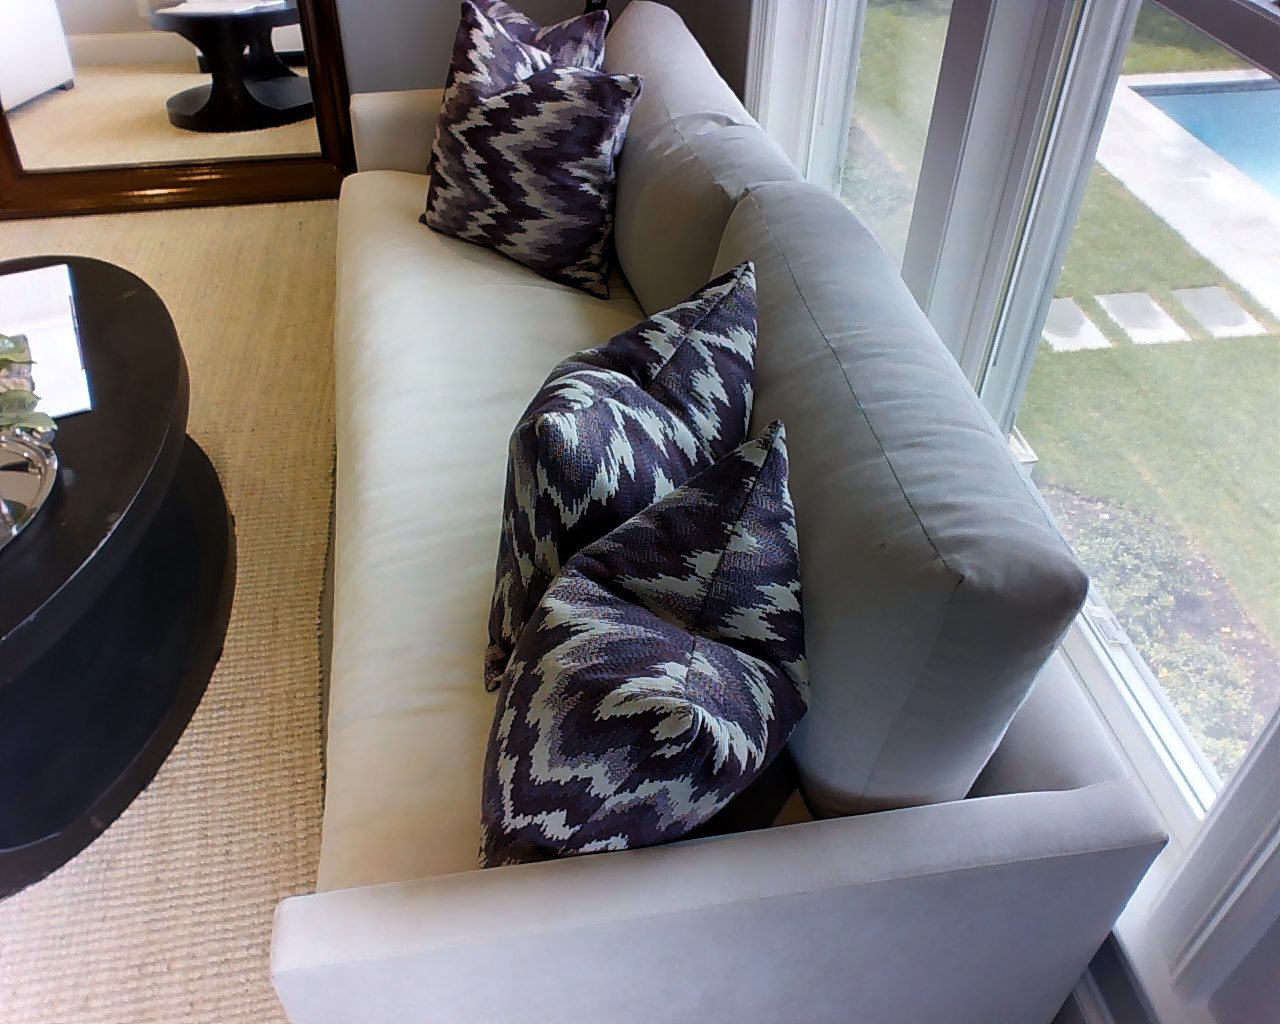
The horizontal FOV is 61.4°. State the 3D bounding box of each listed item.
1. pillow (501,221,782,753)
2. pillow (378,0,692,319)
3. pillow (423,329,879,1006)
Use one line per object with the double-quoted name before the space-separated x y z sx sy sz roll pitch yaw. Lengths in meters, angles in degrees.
"pillow" 0.020 -0.040 1.360 0.240 0.460 0.460 7 42 7
"pillow" -0.200 -0.720 2.140 0.510 0.440 0.300 27 48 27
"pillow" 0.040 0.150 1.160 0.310 0.460 0.490 11 42 11
